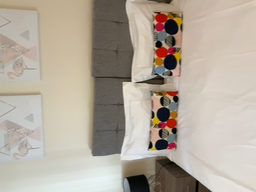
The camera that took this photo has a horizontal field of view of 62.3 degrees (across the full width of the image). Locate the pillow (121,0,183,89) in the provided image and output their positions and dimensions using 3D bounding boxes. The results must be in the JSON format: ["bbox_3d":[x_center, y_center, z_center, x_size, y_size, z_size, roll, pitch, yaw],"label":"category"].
[{"bbox_3d":[0.210,-0.480,1.970,0.110,0.510,0.790,-72,-15,-81],"label":"pillow"}]

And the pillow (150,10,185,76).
[{"bbox_3d":[0.350,-0.470,1.930,0.170,0.240,0.550,-100,12,-79],"label":"pillow"}]

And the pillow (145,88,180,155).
[{"bbox_3d":[0.320,0.240,2.020,0.130,0.270,0.620,-98,10,-80],"label":"pillow"}]

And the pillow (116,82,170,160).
[{"bbox_3d":[0.140,0.240,2.100,0.150,0.480,0.730,-65,-22,-82],"label":"pillow"}]
